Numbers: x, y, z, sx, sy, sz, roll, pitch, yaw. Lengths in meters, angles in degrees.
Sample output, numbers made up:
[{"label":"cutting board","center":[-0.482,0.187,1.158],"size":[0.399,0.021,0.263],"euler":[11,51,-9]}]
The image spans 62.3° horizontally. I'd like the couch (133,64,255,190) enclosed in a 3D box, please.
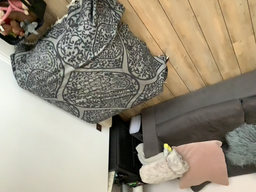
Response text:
[{"label":"couch","center":[1.610,0.240,2.190],"size":[2.960,0.800,1.050],"euler":[-21,140,24]}]
